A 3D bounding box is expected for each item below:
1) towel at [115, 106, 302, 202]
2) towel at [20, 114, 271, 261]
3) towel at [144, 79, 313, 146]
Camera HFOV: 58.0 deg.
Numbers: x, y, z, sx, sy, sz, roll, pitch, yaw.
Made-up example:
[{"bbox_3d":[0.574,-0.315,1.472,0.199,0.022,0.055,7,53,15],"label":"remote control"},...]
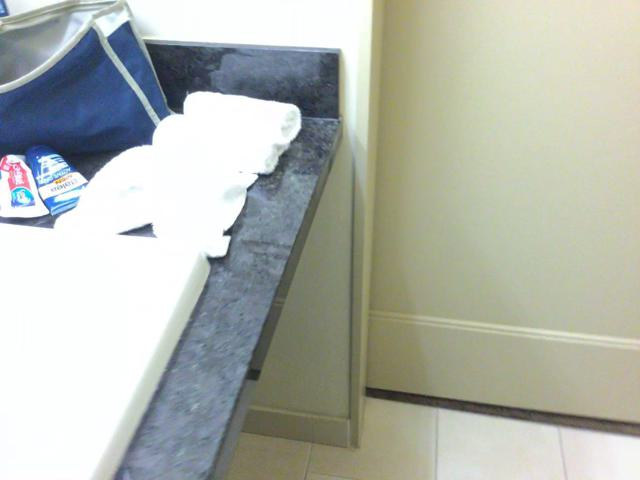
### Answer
[{"bbox_3d":[-0.140,-0.120,0.770,0.200,0.050,0.150,5,38,11],"label":"towel"},{"bbox_3d":[-0.190,-0.070,0.680,0.220,0.080,0.170,5,38,11],"label":"towel"},{"bbox_3d":[-0.130,-0.190,0.850,0.220,0.050,0.100,5,38,11],"label":"towel"}]
